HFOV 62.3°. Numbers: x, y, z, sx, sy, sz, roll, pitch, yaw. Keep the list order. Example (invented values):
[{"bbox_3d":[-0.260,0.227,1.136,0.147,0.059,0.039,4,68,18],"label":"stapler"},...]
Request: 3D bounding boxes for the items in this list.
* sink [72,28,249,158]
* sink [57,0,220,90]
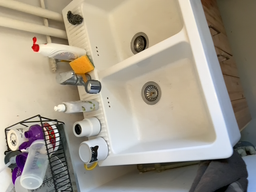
[{"bbox_3d":[0.070,0.050,1.000,0.780,0.170,0.380,-19,81,38],"label":"sink"},{"bbox_3d":[-0.020,-0.330,1.050,0.780,0.180,0.400,-19,81,38],"label":"sink"}]
